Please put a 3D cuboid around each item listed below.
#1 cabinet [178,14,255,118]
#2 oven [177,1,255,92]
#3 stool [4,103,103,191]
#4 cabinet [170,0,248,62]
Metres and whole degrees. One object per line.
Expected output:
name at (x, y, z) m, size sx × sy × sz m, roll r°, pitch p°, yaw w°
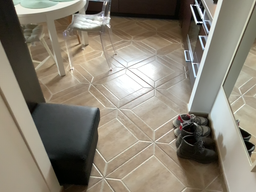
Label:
cabinet at (0.910, -0.250, 2.000) m, size 0.660 × 0.850 × 0.400 m, roll 5°, pitch 42°, yaw 2°
oven at (0.970, -0.560, 2.410) m, size 0.630 × 0.750 × 0.630 m, roll 5°, pitch 42°, yaw 2°
stool at (-0.480, 0.390, 1.570) m, size 0.490 × 0.400 × 0.510 m, roll 5°, pitch 42°, yaw 2°
cabinet at (1.030, -1.140, 3.010) m, size 0.660 × 0.810 × 1.040 m, roll 5°, pitch 42°, yaw 2°
